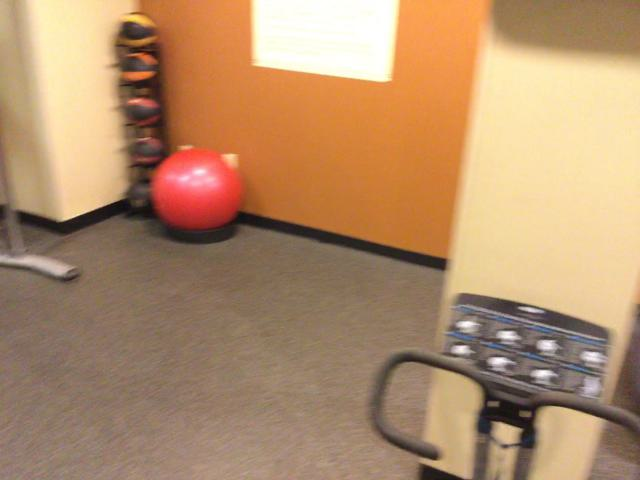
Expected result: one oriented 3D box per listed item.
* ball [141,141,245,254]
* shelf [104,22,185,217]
[{"bbox_3d":[-0.800,-0.290,3.680,0.560,0.600,0.490,-5,16,-12],"label":"ball"},{"bbox_3d":[-1.140,-0.780,3.810,0.320,1.180,0.330,-8,14,-14],"label":"shelf"}]
